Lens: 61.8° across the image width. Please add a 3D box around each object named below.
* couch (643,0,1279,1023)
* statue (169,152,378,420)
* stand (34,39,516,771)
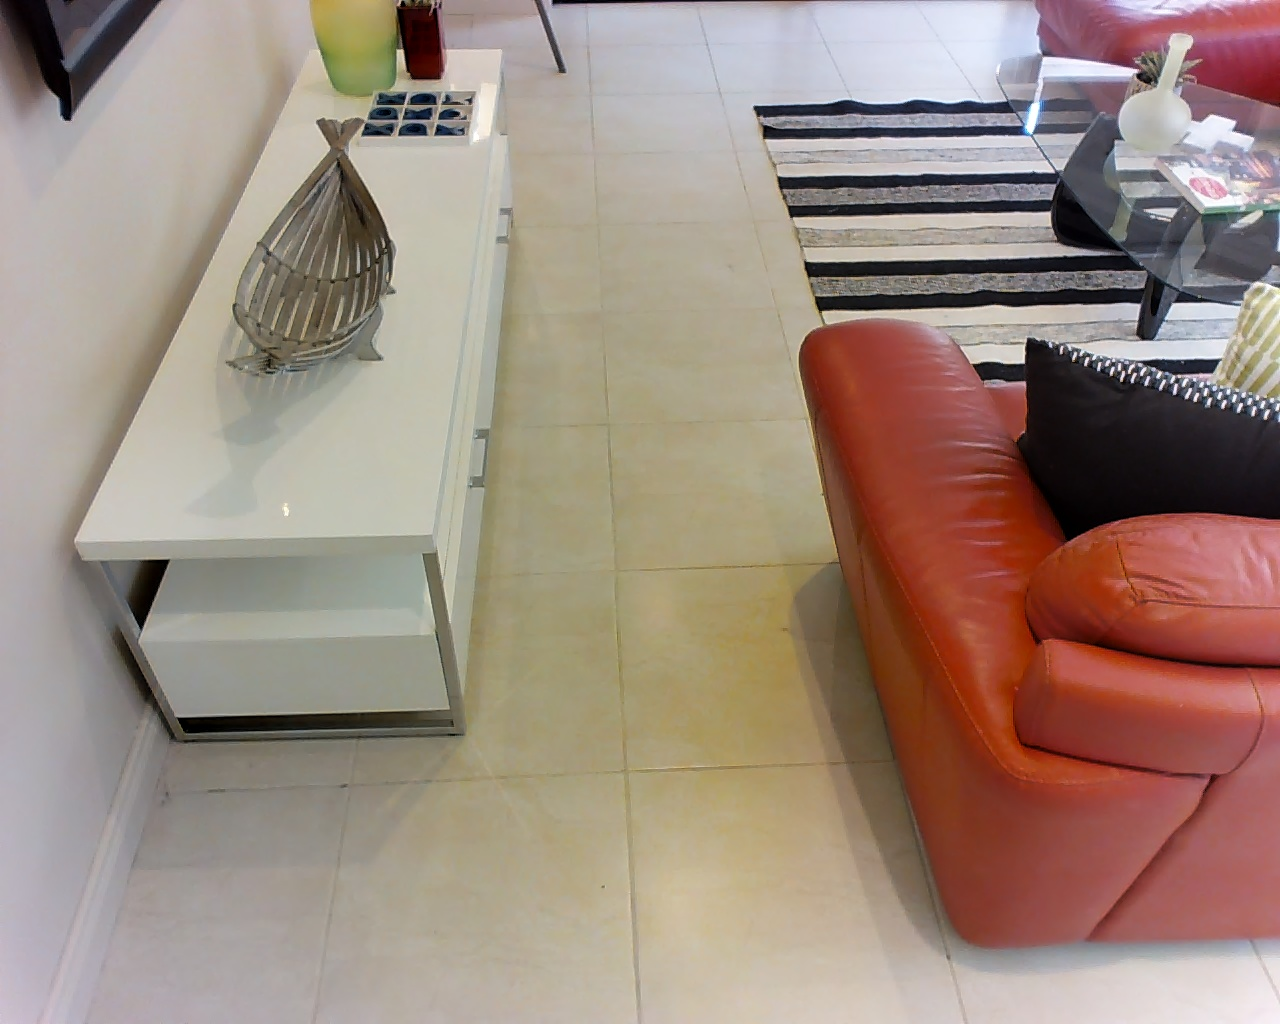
[{"bbox_3d":[1.640,-0.940,2.690,2.960,0.800,3.780,-3,44,-4],"label":"couch"},{"bbox_3d":[-0.620,-0.420,1.890,0.280,0.170,0.570,-6,44,-7],"label":"statue"},{"bbox_3d":[-0.590,-0.400,2.300,0.600,0.530,1.830,-3,44,-4],"label":"stand"}]
